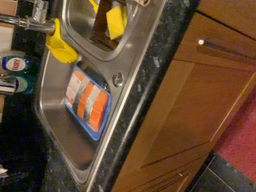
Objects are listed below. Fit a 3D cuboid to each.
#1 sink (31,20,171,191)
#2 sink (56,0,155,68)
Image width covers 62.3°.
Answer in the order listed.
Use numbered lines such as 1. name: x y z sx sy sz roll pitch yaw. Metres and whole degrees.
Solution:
1. sink: -0.160 0.020 0.780 0.510 0.160 0.410 41 120 37
2. sink: -0.090 -0.240 0.660 0.300 0.120 0.180 41 120 37
